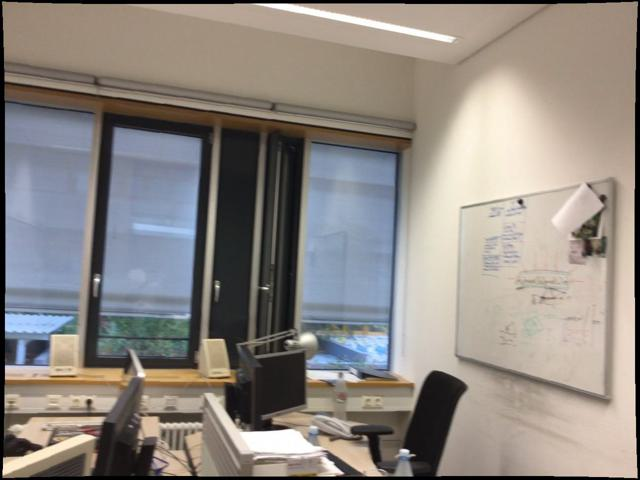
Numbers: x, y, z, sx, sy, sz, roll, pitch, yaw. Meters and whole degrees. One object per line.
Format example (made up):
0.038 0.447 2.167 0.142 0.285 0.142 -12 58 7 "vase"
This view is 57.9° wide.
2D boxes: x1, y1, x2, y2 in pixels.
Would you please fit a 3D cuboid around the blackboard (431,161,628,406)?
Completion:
0.949 0.190 2.890 0.130 0.951 1.300 4 -3 -18 "blackboard"
